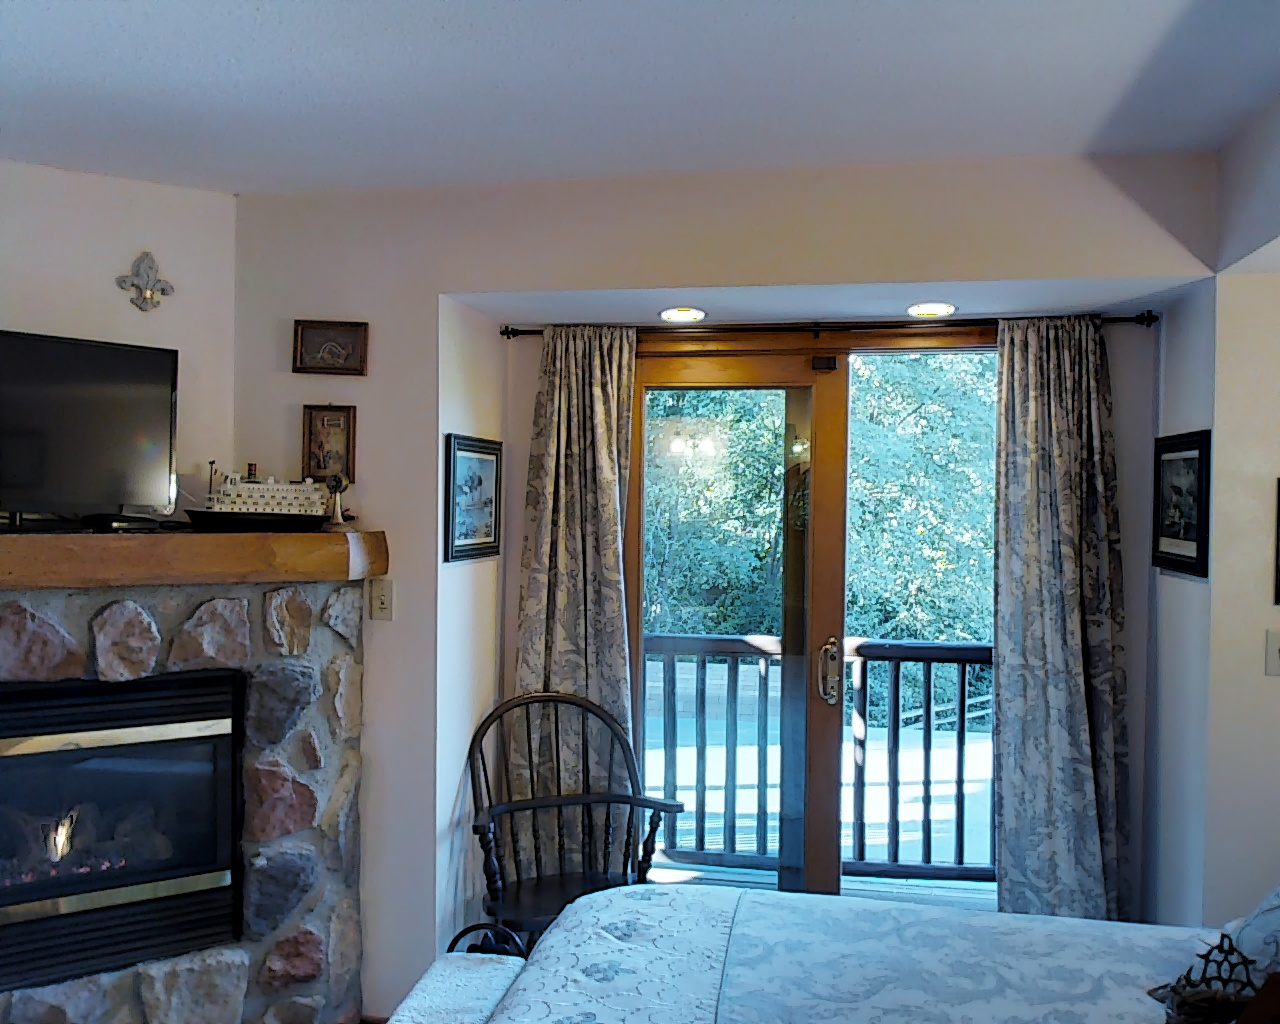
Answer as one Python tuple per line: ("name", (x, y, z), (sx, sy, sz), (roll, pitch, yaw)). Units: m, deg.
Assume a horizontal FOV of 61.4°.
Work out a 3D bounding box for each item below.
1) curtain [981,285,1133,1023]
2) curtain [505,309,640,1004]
("curtain", (1.190, 0.440, 3.100), (0.380, 2.130, 0.190), (0, 0, 11))
("curtain", (-0.210, 0.440, 3.420), (0.390, 2.120, 0.200), (0, 0, 10))
